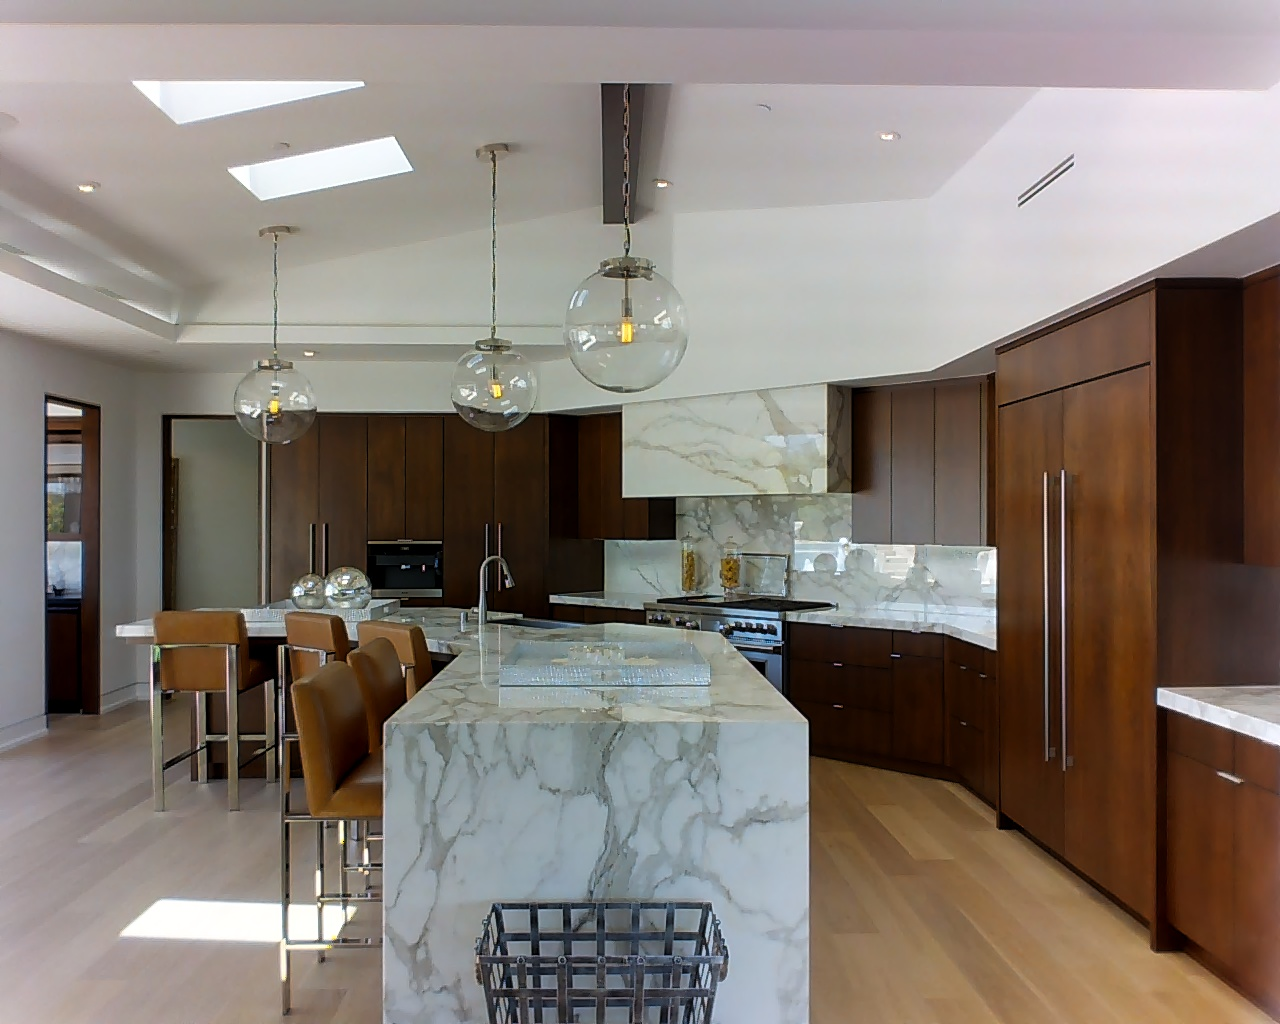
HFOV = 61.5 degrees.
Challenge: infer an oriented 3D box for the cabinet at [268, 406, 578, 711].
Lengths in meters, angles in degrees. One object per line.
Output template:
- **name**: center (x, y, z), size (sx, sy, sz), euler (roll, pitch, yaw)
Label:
- **cabinet**: center (-1.750, 0.370, 8.960), size (2.450, 2.430, 0.690), euler (0, 0, -2)

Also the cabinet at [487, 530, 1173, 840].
- **cabinet**: center (0.920, 0.860, 7.170), size (4.540, 1.410, 1.300), euler (0, 0, 43)

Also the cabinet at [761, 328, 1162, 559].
- **cabinet**: center (1.850, -0.330, 6.290), size (1.850, 1.110, 1.320), euler (0, 0, 43)

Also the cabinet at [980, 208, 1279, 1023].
- **cabinet**: center (2.120, 0.390, 4.260), size (0.710, 2.480, 2.500), euler (0, 0, -1)
